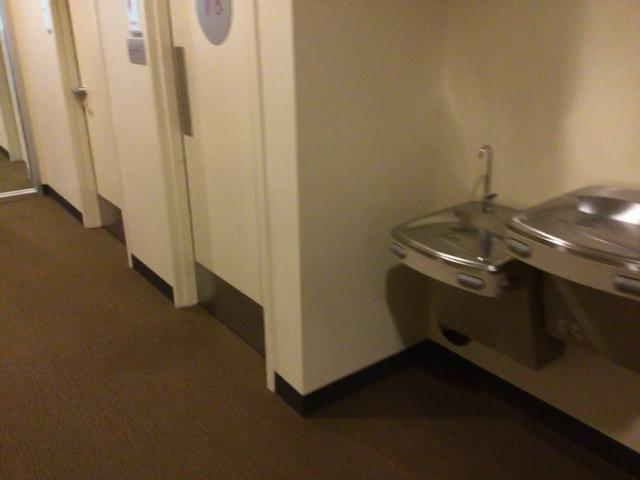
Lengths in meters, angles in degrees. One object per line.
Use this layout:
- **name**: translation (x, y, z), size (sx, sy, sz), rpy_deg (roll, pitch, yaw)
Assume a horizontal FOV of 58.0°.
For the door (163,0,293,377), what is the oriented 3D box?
- **door**: translation (-0.400, -0.480, 2.370), size (0.090, 1.970, 0.850), rpy_deg (-15, 29, -34)
